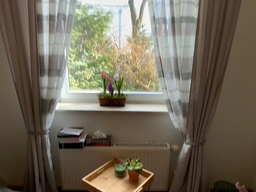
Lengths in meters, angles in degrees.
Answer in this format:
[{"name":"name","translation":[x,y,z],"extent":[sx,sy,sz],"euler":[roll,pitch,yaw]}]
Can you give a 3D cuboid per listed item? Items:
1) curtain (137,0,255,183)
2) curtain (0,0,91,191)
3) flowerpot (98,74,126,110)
[{"name":"curtain","translation":[0.540,-0.510,1.630],"extent":[0.830,2.530,0.230],"euler":[2,15,1]},{"name":"curtain","translation":[-0.770,-0.300,1.640],"extent":[0.900,3.020,0.130],"euler":[2,15,1]},{"name":"flowerpot","translation":[-0.150,-0.040,2.000],"extent":[0.250,0.310,0.130],"euler":[0,15,-5]}]
